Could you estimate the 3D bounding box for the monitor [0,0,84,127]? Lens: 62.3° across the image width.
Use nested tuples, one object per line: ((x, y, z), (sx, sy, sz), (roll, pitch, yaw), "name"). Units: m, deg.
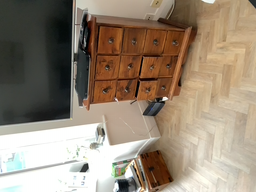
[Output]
((-0.630, -0.250, 1.430), (0.060, 0.620, 0.980), (44, 132, 52), "monitor")
